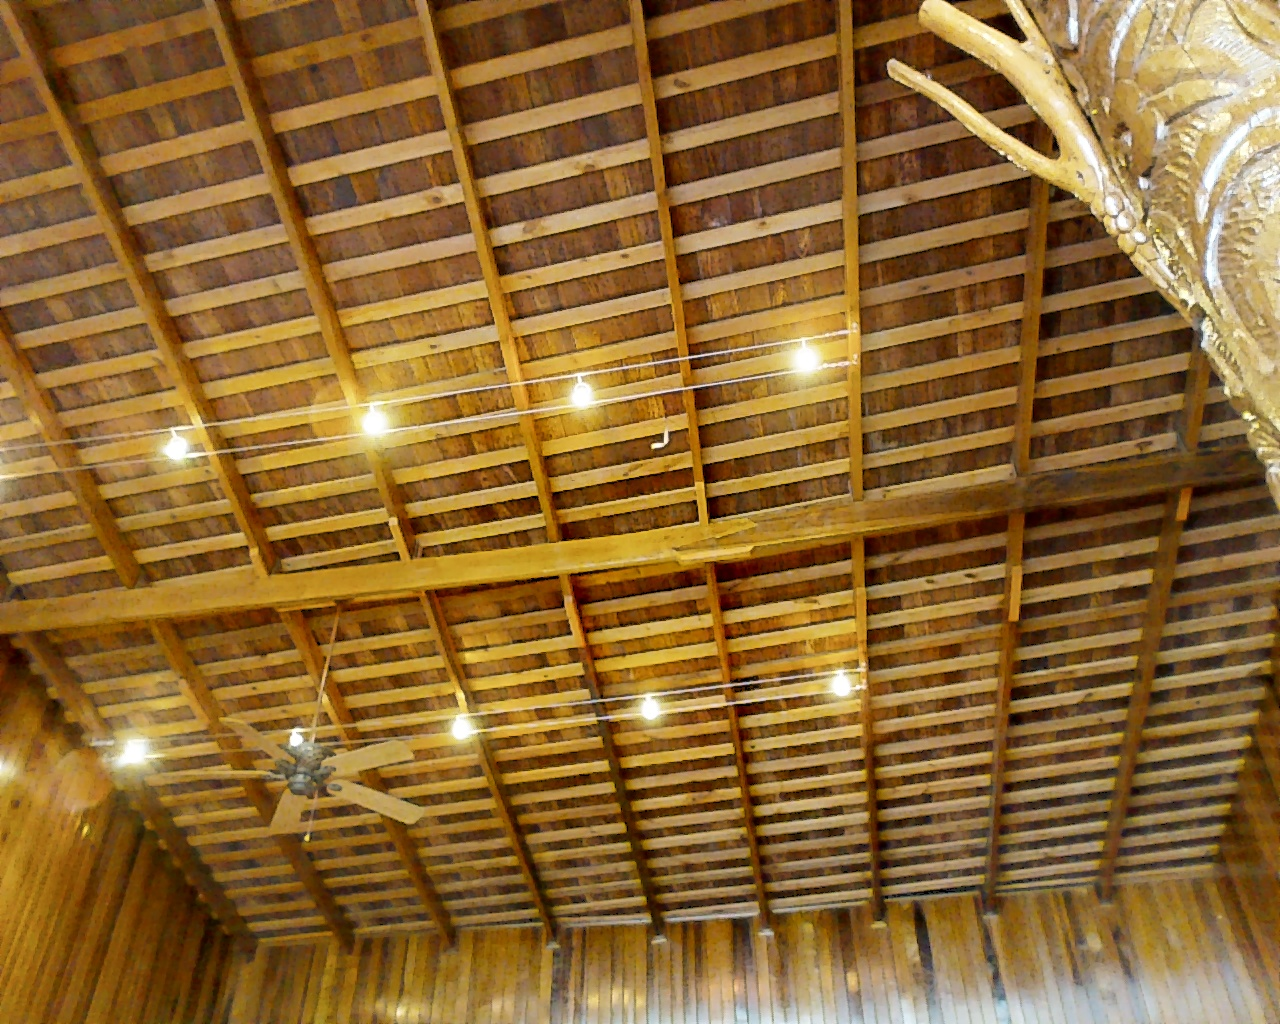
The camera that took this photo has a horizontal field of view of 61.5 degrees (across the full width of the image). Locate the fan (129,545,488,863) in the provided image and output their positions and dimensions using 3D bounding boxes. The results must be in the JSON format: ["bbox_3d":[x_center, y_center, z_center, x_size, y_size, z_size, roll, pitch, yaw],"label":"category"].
[{"bbox_3d":[-1.650,1.050,5.610,1.430,1.380,0.990,-7,-19,7],"label":"fan"}]
